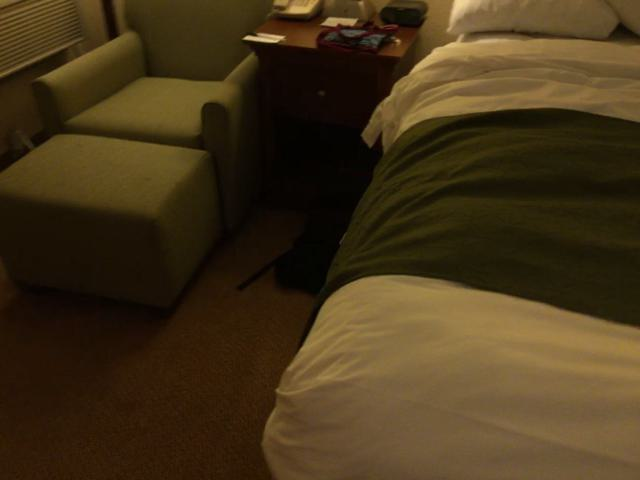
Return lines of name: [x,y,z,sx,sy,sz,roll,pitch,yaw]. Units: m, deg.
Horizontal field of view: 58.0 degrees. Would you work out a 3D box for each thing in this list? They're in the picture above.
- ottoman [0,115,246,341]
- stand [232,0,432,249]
ottoman: [-0.660,-0.070,1.910,0.640,0.420,0.530,11,37,14]
stand: [0.060,-0.470,2.180,0.550,0.760,0.520,11,37,14]
